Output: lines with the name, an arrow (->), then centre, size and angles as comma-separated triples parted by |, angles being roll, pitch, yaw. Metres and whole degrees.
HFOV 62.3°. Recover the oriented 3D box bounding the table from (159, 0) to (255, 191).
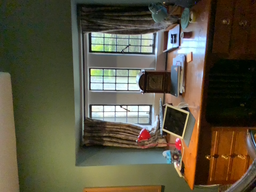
table -> 0.900, -0.100, 2.170 | 0.940, 0.830, 1.680 | -121, 32, -76
